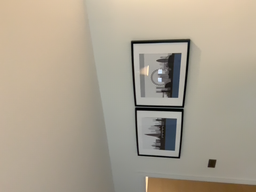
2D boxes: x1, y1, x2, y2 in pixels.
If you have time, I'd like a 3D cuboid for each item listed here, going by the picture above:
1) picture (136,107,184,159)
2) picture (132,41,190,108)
[{"bbox_3d":[0.360,0.450,2.490,0.040,0.510,0.720,-74,-16,-58],"label":"picture"},{"bbox_3d":[0.310,-0.190,2.100,0.040,0.510,0.700,-75,-16,-57],"label":"picture"}]
